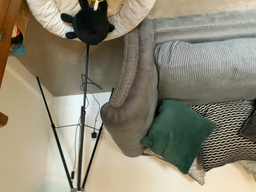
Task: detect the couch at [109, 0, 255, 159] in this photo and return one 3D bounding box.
[{"bbox_3d":[0.760,-0.030,1.620,1.620,0.740,1.090,-5,155,5],"label":"couch"}]

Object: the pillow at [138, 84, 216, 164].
[{"bbox_3d":[0.320,0.210,1.550,0.410,0.500,0.320,1,155,-8],"label":"pillow"}]
